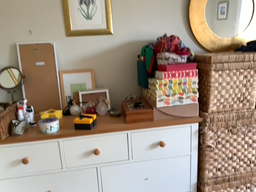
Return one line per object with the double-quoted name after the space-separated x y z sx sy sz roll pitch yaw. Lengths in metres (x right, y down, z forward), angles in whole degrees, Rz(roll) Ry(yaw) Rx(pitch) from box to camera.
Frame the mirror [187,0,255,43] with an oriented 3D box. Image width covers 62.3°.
0.810 -0.740 1.690 0.640 0.570 0.170 -6 13 -8 "mirror"
